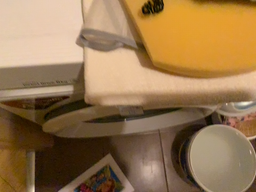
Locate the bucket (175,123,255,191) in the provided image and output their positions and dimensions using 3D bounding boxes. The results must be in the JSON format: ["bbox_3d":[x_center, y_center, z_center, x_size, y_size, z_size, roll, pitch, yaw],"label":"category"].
[{"bbox_3d":[0.450,0.300,0.970,0.380,0.210,0.310,-4,75,-5],"label":"bucket"}]
